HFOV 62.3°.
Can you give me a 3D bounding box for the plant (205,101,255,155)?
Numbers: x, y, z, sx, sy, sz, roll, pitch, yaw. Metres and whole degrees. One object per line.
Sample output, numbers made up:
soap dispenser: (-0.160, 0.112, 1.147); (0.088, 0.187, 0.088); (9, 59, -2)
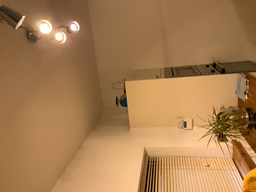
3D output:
plant: (0.830, 0.230, 1.610); (0.350, 0.410, 0.290); (-58, -36, -73)
